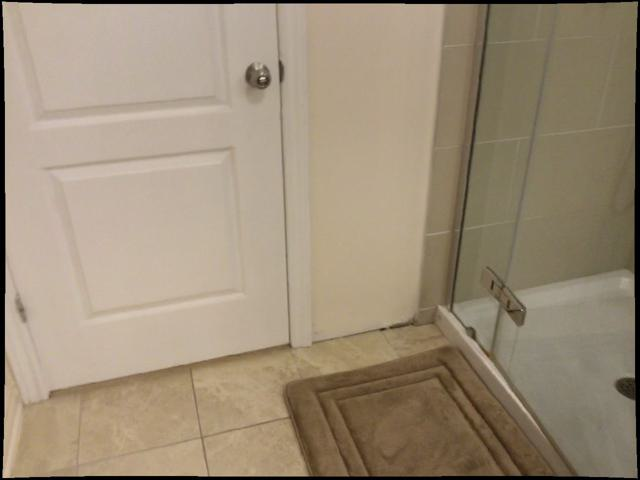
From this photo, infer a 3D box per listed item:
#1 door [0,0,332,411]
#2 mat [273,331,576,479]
[{"bbox_3d":[-0.480,-0.480,1.350,1.039,2.062,0.080,-7,30,-17],"label":"door"},{"bbox_3d":[0.290,0.591,1.510,0.619,0.080,0.910,-7,30,-17],"label":"mat"}]
